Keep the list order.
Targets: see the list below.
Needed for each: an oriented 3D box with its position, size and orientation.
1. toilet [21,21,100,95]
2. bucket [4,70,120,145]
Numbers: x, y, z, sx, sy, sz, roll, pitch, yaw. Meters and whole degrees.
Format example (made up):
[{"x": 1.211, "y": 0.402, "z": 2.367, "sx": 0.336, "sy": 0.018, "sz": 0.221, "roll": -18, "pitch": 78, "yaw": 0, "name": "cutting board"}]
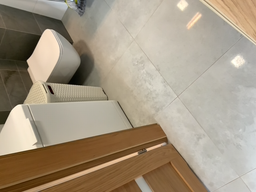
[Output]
[{"x": -0.640, "y": -0.320, "z": 1.990, "sx": 0.540, "sy": 0.440, "sz": 0.350, "roll": -47, "pitch": 63, "yaw": 31, "name": "toilet"}, {"x": -0.550, "y": 0.100, "z": 1.820, "sx": 0.640, "sy": 0.720, "sz": 0.220, "roll": -45, "pitch": 64, "yaw": 32, "name": "bucket"}]
